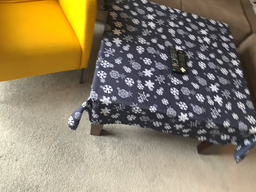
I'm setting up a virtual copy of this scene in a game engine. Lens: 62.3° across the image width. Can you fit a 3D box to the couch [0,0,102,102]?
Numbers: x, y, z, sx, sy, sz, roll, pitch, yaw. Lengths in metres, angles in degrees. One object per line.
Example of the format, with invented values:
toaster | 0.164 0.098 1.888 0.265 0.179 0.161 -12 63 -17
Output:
couch | -0.700 -0.510 1.300 0.760 0.720 0.780 -11 61 -25
